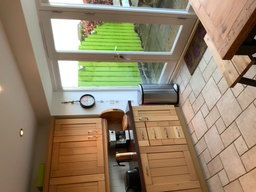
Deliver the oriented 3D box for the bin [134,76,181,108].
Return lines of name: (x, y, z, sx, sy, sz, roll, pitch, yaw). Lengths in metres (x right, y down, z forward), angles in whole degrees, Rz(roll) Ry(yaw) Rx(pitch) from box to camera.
bin: (0.490, -0.070, 3.720, 0.330, 0.680, 0.430, 105, 160, -54)
